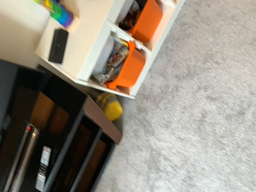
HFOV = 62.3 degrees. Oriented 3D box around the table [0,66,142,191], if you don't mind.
[{"bbox_3d":[-0.500,0.500,1.470,0.570,0.450,1.210,31,98,34],"label":"table"}]
